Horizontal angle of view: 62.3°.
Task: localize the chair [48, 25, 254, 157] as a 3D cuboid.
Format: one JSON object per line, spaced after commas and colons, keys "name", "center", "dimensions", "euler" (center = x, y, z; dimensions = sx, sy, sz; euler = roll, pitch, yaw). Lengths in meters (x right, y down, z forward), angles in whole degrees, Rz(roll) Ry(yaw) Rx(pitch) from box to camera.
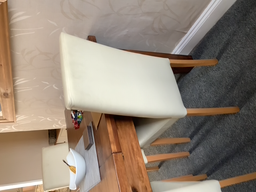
{"name": "chair", "center": [0.090, 0.020, 1.240], "dimensions": [0.590, 0.970, 0.390], "euler": [-52, 46, 51]}
